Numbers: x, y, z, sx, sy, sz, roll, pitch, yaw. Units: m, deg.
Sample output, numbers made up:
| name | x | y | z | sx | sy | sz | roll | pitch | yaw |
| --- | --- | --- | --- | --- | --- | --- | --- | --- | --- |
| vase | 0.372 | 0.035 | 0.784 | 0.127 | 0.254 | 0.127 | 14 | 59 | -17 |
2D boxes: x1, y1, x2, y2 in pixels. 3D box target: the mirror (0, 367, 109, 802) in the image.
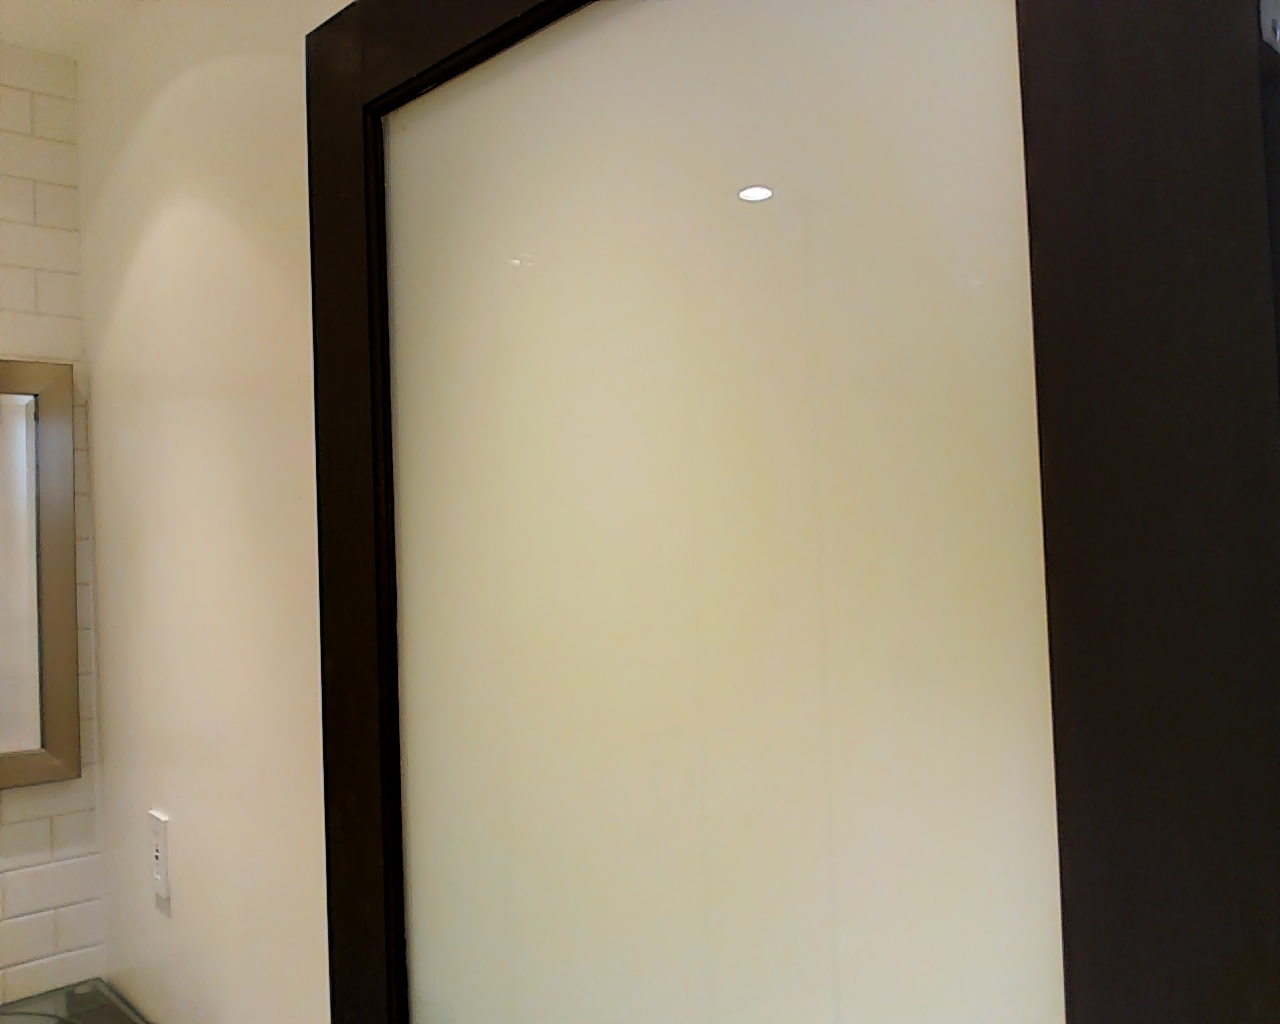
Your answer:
| name | x | y | z | sx | sy | sz | roll | pitch | yaw |
| --- | --- | --- | --- | --- | --- | --- | --- | --- | --- |
| mirror | -1.180 | 0.120 | 1.690 | 0.600 | 0.710 | 0.080 | -1 | -2 | -42 |
